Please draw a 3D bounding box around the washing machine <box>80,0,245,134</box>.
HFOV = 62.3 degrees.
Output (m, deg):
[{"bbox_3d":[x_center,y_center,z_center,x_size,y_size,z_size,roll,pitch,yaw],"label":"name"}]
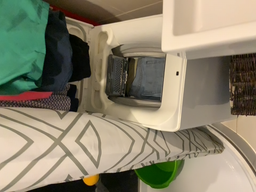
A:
[{"bbox_3d":[0.240,-0.090,1.140,0.500,0.810,0.430,4,90,41],"label":"washing machine"}]
